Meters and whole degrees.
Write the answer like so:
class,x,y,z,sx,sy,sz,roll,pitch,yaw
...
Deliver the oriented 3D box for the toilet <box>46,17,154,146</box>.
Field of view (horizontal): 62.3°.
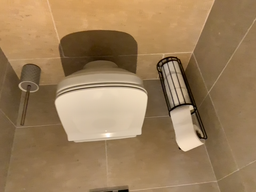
class,x,y,z,sx,sy,sz,roll,pitch,yaw
toilet,-0.130,-0.040,1.060,0.370,0.380,0.540,-4,148,-6
